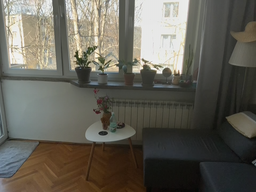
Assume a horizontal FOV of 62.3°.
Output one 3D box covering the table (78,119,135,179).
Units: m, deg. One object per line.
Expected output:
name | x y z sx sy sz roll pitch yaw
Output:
table | -0.220 0.580 2.440 0.570 0.450 0.500 3 16 2

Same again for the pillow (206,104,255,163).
pillow | 1.230 0.370 2.310 0.470 0.350 0.710 3 16 0
